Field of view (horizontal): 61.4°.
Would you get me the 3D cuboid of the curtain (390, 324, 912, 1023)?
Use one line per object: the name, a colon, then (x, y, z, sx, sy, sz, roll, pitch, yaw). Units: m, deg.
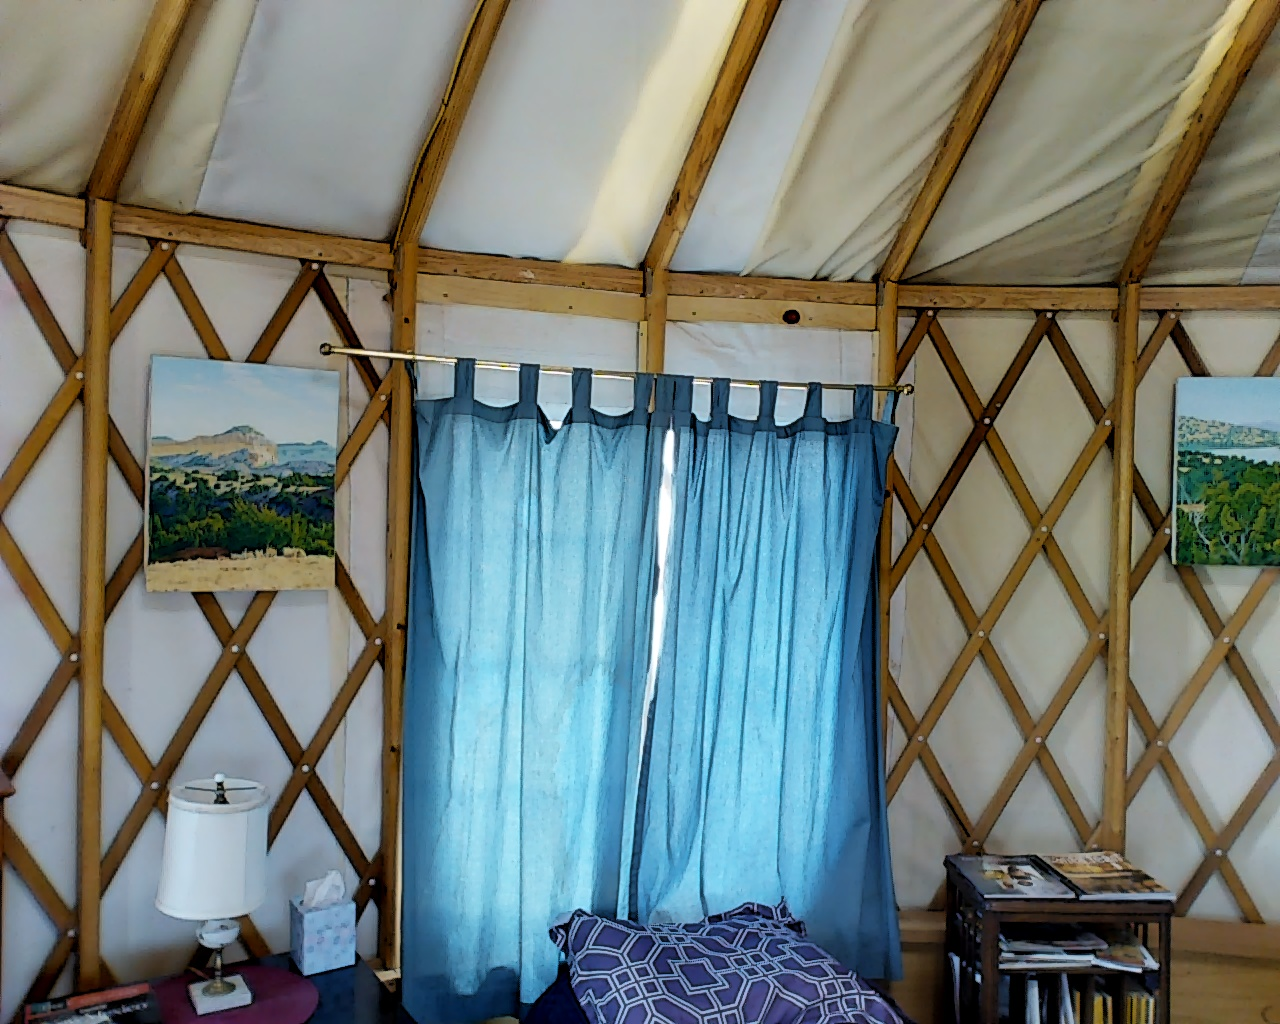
curtain: (0.040, 0.450, 2.730, 1.270, 1.730, 0.250, 1, 1, -16)

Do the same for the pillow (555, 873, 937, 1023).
pillow: (0.230, 1.070, 2.480, 0.730, 0.240, 0.480, 1, 1, -23)

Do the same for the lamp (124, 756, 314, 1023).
lamp: (-0.820, 0.730, 2.130, 0.230, 0.420, 0.290, 1, 1, 9)
